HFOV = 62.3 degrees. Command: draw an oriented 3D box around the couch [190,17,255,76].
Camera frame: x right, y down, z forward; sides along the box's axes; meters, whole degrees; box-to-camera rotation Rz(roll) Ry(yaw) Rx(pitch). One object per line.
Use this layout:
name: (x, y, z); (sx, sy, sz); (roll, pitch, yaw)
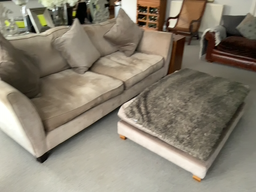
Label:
couch: (2.480, -0.780, 3.580); (2.470, 0.680, 1.030); (23, 36, 33)

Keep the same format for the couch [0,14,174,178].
couch: (-0.490, -0.340, 2.510); (1.050, 0.830, 2.330); (20, 34, 30)
